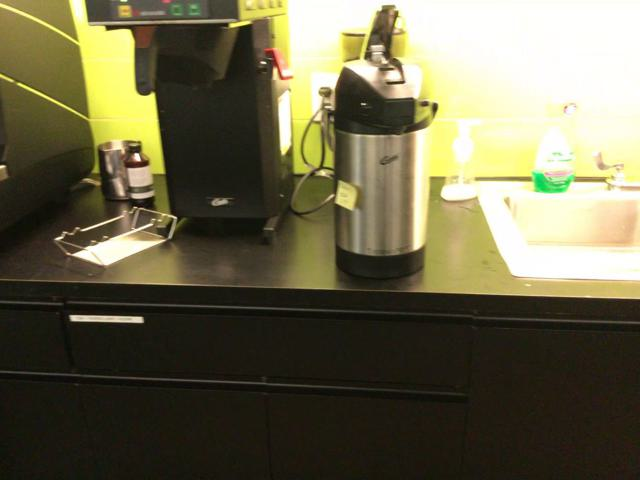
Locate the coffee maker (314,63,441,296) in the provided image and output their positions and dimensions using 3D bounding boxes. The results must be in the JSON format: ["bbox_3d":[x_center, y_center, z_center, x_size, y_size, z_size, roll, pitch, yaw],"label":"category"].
[{"bbox_3d":[0.100,-0.100,0.920,0.170,0.330,0.180,-1,19,9],"label":"coffee maker"}]

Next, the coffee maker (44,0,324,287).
[{"bbox_3d":[-0.190,-0.210,1.060,0.310,0.450,0.430,-1,19,9],"label":"coffee maker"}]

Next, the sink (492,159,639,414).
[{"bbox_3d":[0.760,0.040,1.130,0.730,0.280,0.610,-1,19,9],"label":"sink"}]
